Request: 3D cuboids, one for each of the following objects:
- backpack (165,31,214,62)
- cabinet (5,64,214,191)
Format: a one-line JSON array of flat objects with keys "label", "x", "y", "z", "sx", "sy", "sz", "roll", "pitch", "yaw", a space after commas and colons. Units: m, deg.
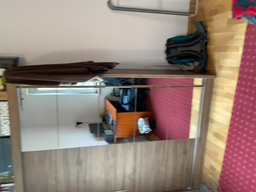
[{"label": "backpack", "x": 0.770, "y": -0.620, "z": 2.700, "sx": 0.360, "sy": 0.450, "sz": 0.330, "roll": -144, "pitch": 55, "yaw": -70}, {"label": "cabinet", "x": -0.160, "y": 0.470, "z": 2.570, "sx": 0.620, "sy": 2.140, "sz": 1.620, "roll": -146, "pitch": 57, "yaw": -71}]
